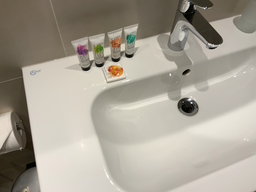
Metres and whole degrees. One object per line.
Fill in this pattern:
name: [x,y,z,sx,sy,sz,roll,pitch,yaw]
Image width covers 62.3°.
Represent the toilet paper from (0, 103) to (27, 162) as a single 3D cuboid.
toilet paper: [-0.400,0.120,0.650,0.110,0.150,0.110,-17,60,-13]
